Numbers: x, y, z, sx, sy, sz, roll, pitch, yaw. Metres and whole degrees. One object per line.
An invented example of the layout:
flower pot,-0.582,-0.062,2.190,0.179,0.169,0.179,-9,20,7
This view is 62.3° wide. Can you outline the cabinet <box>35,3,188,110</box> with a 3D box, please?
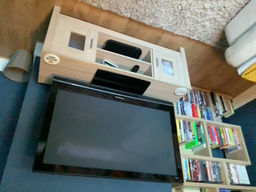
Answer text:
cabinet,-0.120,-0.280,1.850,1.170,0.470,0.430,13,147,-20
